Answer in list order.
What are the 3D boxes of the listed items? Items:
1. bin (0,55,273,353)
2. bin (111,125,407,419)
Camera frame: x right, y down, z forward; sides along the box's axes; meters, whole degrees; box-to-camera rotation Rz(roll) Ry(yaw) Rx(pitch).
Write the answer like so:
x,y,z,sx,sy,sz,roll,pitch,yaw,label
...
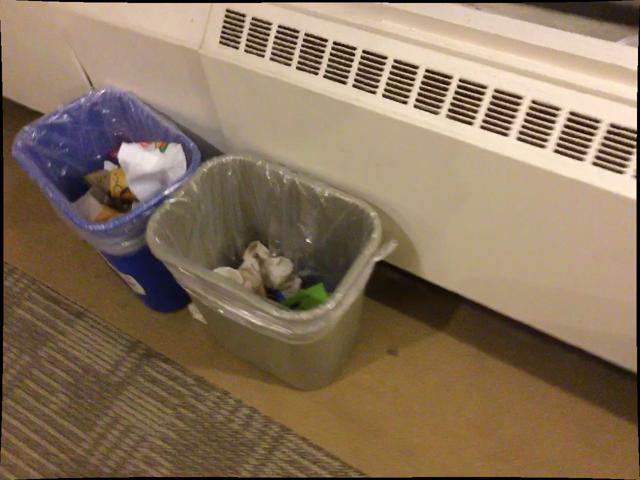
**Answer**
x,y,z,sx,sy,sz,roll,pitch,yaw,label
-0.400,-0.080,1.240,0.470,0.400,0.290,30,61,26,bin
-0.090,0.060,1.130,0.420,0.360,0.300,21,57,21,bin
